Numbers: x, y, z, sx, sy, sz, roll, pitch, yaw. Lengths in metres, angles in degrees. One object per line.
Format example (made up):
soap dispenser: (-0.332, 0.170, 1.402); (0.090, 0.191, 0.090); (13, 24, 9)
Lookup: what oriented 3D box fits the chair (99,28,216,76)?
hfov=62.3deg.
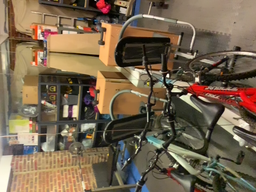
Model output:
chair: (0.280, -0.490, 2.350); (0.690, 1.050, 0.300); (-132, 47, -59)
